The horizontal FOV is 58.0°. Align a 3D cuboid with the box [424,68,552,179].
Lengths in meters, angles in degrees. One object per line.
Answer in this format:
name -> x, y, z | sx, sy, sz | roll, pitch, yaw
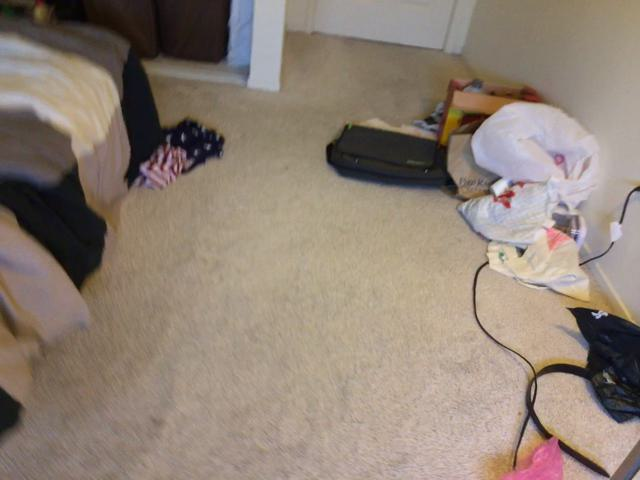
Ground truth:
box -> 0.640, -0.460, 2.270 | 0.340, 0.280, 0.310 | 7, 35, -7
